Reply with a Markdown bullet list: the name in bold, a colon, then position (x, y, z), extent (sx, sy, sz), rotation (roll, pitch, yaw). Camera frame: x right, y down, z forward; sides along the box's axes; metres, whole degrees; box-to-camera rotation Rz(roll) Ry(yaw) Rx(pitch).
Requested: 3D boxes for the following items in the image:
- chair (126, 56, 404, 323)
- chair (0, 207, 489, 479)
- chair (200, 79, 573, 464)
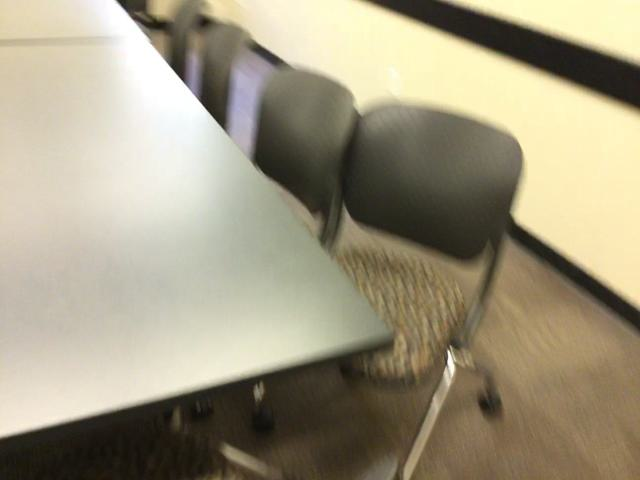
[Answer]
- **chair**: position (-0.190, -0.190, 1.640), extent (0.560, 0.470, 0.590), rotation (-10, 36, -22)
- **chair**: position (-0.200, 0.350, 0.750), extent (0.520, 0.500, 0.570), rotation (-11, 36, -23)
- **chair**: position (0.160, 0.010, 1.450), extent (0.630, 0.550, 0.620), rotation (22, 37, 24)
